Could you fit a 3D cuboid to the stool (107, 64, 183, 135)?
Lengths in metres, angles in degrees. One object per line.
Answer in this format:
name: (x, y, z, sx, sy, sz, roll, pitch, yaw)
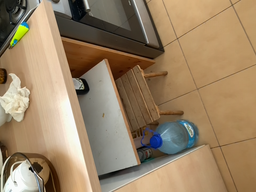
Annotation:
stool: (0.100, 0.020, 1.230, 0.220, 0.300, 0.310, -31, 72, 35)
